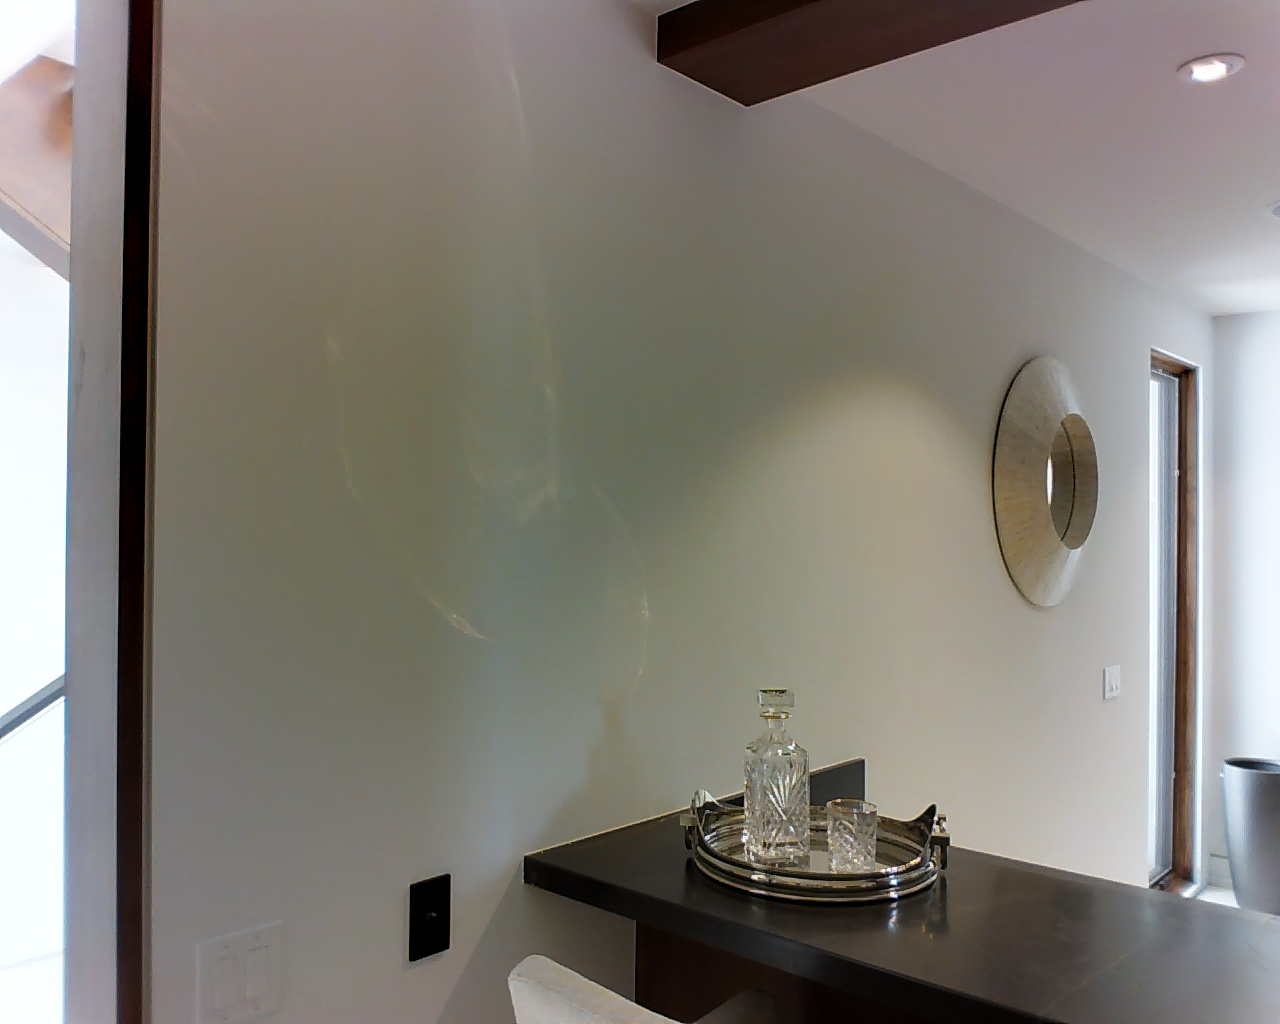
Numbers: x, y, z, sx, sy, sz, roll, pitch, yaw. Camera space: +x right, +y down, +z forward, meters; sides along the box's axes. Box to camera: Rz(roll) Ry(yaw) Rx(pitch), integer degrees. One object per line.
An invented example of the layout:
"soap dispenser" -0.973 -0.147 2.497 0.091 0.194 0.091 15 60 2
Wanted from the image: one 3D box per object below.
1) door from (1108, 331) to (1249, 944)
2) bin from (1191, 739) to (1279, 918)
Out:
"door" 2.310 0.490 4.590 0.320 2.380 0.810 0 -1 42
"bin" 2.660 1.360 4.680 0.380 0.640 0.360 0 -1 42
